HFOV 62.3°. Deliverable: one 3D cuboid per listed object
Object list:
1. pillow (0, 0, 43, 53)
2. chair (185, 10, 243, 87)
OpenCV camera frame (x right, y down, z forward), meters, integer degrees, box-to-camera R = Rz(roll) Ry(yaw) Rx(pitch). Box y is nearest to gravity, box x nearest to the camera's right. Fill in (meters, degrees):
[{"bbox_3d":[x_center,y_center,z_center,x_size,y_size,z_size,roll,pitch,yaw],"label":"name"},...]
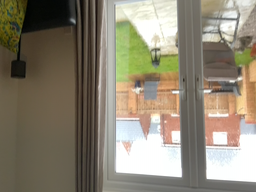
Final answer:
[{"bbox_3d":[-0.880,-0.590,1.520,0.230,0.440,0.370,-18,174,19],"label":"pillow"},{"bbox_3d":[1.340,-0.700,3.450,0.570,1.030,0.780,0,176,-3],"label":"chair"}]
